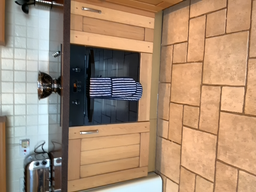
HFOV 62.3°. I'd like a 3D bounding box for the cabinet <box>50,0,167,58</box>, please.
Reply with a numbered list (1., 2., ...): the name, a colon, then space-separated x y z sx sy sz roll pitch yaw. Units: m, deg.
1. cabinet: -0.190 -0.560 1.910 0.580 0.890 0.320 10 99 60
